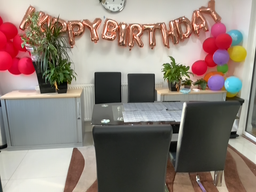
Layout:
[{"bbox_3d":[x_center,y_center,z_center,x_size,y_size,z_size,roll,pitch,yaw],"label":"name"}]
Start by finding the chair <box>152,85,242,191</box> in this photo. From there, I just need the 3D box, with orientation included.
[{"bbox_3d":[0.530,0.460,1.860,0.470,1.000,0.570,-3,14,-10],"label":"chair"}]

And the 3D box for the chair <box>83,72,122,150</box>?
[{"bbox_3d":[-0.360,0.180,3.080,0.470,0.960,0.650,-2,14,-6],"label":"chair"}]

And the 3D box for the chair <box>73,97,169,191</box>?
[{"bbox_3d":[-0.030,0.570,1.450,0.460,0.990,0.650,0,14,1],"label":"chair"}]

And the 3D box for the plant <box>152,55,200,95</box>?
[{"bbox_3d":[0.650,-0.310,2.980,0.510,0.490,0.430,-2,14,-9],"label":"plant"}]
